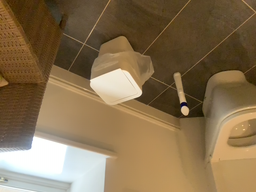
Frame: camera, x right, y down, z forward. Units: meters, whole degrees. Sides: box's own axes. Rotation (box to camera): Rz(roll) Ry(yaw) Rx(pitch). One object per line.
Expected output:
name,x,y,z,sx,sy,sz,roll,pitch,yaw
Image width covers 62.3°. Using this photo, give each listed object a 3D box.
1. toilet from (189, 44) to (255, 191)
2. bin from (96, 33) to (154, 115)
toilet,0.610,0.260,1.120,0.370,0.840,0.640,-6,140,6
bin,-0.020,-0.110,1.090,0.180,0.300,0.230,21,136,-24
